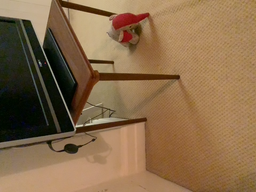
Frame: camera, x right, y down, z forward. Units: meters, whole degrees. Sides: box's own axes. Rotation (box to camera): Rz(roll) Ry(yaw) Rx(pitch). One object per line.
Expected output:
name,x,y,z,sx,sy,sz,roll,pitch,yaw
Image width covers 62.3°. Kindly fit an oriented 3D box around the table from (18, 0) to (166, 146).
table,-0.240,-0.160,1.110,0.610,0.490,0.420,60,137,31
